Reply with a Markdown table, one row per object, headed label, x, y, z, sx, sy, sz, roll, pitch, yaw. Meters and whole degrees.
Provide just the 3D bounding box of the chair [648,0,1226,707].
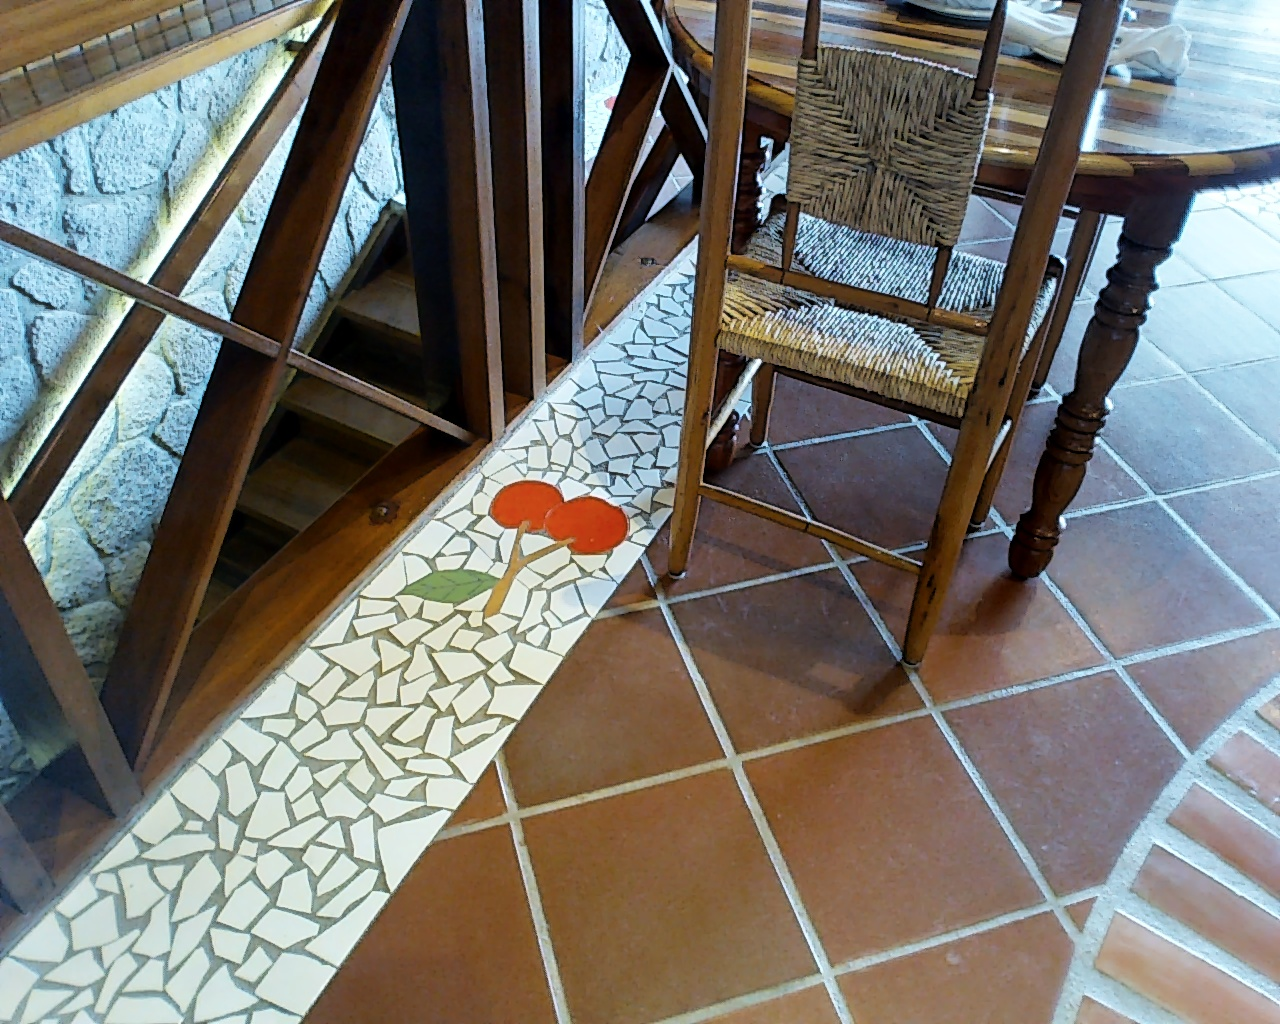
| label | x | y | z | sx | sy | sz | roll | pitch | yaw |
| --- | --- | --- | --- | --- | --- | --- | --- | --- | --- |
| chair | 0.390 | -0.340 | 1.530 | 0.530 | 1.030 | 0.550 | 21 | 45 | 19 |
